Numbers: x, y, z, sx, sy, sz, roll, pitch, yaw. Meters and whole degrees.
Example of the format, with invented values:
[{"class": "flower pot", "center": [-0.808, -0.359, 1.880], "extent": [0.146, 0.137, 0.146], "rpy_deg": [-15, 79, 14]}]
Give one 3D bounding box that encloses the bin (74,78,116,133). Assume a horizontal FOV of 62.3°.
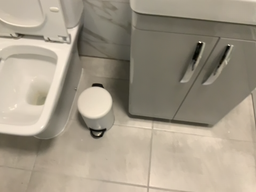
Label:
[{"class": "bin", "center": [-0.160, 0.060, 1.130], "extent": [0.150, 0.260, 0.180], "rpy_deg": [10, 64, 4]}]
